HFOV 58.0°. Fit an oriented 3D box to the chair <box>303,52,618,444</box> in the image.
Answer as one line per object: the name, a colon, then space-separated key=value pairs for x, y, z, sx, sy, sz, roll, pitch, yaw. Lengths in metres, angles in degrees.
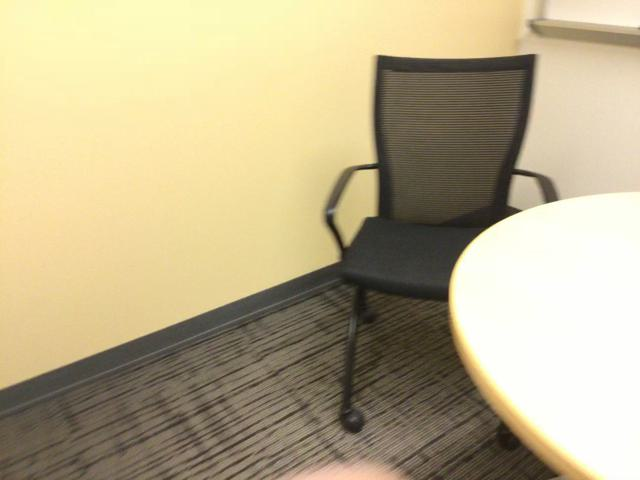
chair: x=0.350 y=-0.020 z=1.600 sx=0.610 sy=0.860 sz=0.610 roll=2 pitch=26 yaw=12
